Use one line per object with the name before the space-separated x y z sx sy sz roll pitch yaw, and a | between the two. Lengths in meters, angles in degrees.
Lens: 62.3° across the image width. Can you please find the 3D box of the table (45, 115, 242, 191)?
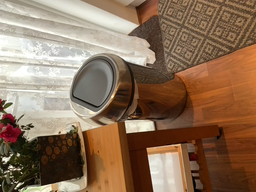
table | 0.150 0.620 1.060 0.540 0.860 0.960 -19 74 43

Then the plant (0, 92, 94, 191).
plant | -0.340 0.170 0.740 0.250 0.320 0.300 -20 73 43
